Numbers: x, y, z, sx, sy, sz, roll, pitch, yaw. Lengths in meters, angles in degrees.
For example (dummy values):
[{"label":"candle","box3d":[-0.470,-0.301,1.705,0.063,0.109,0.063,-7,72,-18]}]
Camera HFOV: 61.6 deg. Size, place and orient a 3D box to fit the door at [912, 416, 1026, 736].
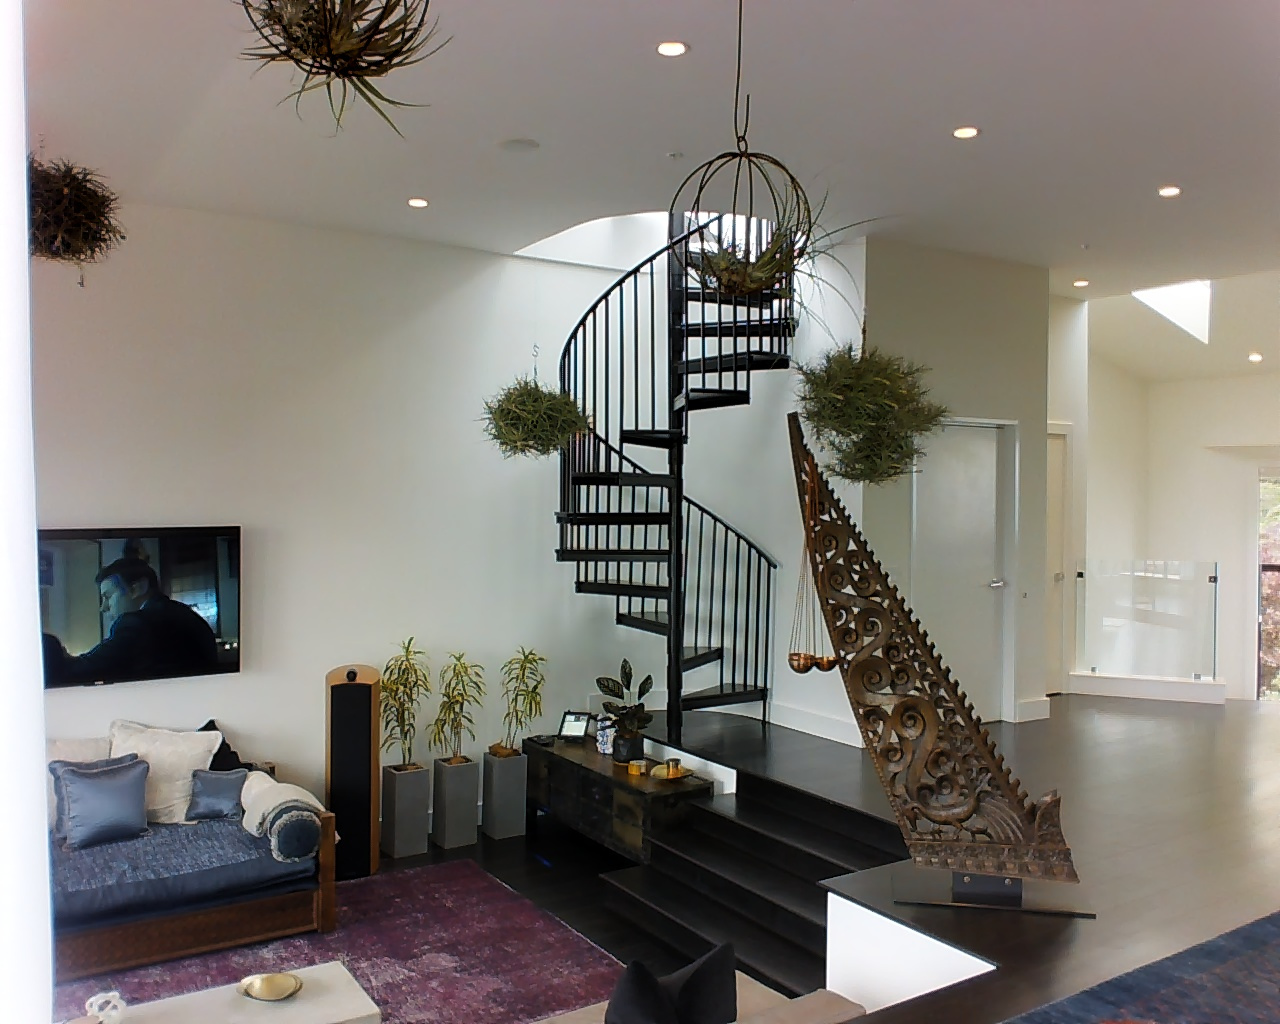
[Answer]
[{"label":"door","box3d":[2.200,0.410,7.140,0.960,2.040,0.100,0,1,-32]}]
